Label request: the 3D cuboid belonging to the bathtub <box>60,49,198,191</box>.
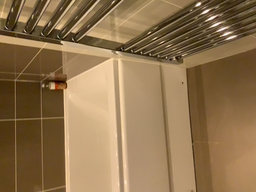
[{"bbox_3d":[-0.020,0.570,1.360,0.700,0.550,1.500,-12,80,53],"label":"bathtub"}]
